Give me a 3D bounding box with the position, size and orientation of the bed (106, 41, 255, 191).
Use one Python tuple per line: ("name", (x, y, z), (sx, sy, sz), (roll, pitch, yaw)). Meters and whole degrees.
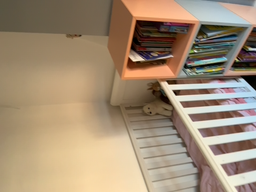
("bed", (0.610, 0.280, 1.540), (1.540, 1.190, 0.610), (-112, 27, -44))
